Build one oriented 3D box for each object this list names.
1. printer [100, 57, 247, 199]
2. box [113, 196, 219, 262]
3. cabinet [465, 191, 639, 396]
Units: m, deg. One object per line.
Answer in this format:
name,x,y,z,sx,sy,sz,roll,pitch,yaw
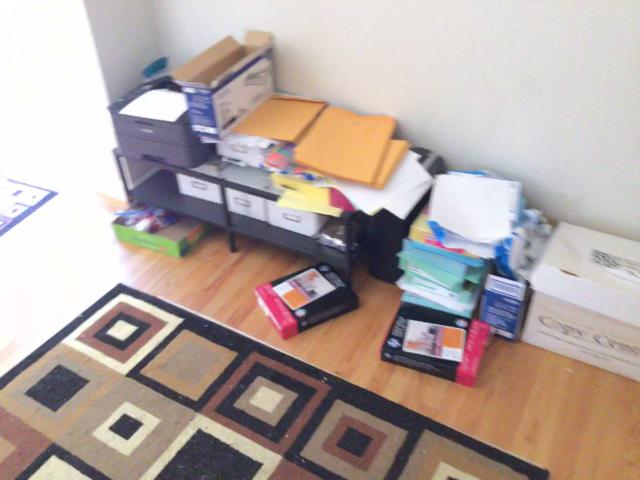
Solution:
printer,-0.520,-0.420,2.120,0.360,0.350,0.310,19,41,24
box,-0.600,-0.050,2.260,0.330,0.070,0.220,17,40,22
cabinet,0.810,0.150,1.720,0.600,0.290,0.400,19,41,24
